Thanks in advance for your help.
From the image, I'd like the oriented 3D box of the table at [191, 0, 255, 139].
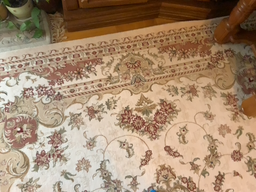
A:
[{"bbox_3d":[0.850,-0.290,1.130,0.630,0.580,0.860,-8,72,-8],"label":"table"}]
